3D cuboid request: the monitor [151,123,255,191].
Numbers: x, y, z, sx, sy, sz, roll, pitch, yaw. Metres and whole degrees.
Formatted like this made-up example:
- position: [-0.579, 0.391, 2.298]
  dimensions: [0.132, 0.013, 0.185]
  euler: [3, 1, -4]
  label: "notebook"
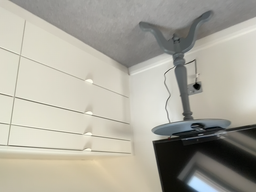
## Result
- position: [0.500, 0.450, 1.390]
  dimensions: [0.710, 0.430, 0.050]
  euler: [-17, 165, 34]
  label: "monitor"
